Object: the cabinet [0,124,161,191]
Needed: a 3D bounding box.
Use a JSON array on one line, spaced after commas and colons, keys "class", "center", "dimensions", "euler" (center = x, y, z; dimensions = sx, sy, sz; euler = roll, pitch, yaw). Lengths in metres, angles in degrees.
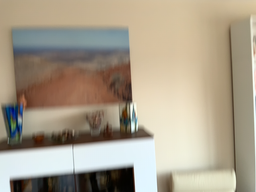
[{"class": "cabinet", "center": [-0.380, 1.020, 1.730], "dimensions": [1.250, 1.410, 0.410], "euler": [-4, 2, -11]}]
